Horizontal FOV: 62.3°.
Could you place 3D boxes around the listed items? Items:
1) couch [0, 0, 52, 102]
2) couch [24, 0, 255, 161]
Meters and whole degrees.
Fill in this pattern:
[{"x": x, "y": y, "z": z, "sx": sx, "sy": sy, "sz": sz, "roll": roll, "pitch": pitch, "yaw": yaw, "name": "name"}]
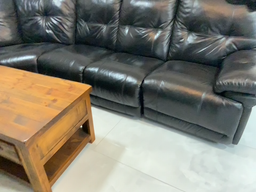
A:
[{"x": -1.180, "y": -0.600, "z": 2.410, "sx": 0.410, "sy": 0.940, "sz": 0.920, "roll": -9, "pitch": 34, "yaw": -13, "name": "couch"}, {"x": 0.200, "y": -0.410, "z": 2.030, "sx": 1.890, "sy": 0.980, "sz": 0.990, "roll": 16, "pitch": 36, "yaw": 24, "name": "couch"}]
